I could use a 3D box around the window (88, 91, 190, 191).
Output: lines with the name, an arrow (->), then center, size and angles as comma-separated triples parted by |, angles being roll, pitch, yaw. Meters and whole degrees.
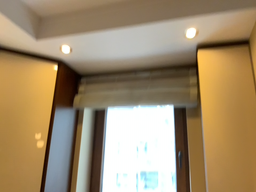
window -> 0.090, 0.540, 1.830 | 0.830, 1.140, 0.150 | -3, -18, 15
